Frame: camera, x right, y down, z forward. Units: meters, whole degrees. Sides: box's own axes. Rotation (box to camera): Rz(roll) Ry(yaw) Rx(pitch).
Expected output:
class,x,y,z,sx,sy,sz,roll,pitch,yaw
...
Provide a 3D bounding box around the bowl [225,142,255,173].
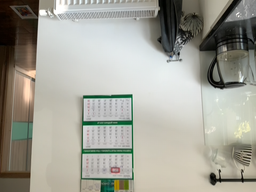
class,x,y,z,sx,sy,sz,roll,pitch,yaw
bowl,0.620,0.330,1.160,0.130,0.150,0.090,-1,172,6
